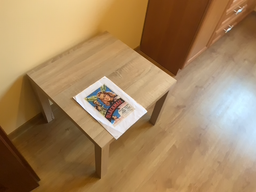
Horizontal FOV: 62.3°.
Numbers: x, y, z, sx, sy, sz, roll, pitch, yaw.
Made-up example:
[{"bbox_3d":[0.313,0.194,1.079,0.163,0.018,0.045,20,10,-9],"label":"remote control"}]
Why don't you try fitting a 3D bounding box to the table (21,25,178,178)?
[{"bbox_3d":[-0.150,0.010,1.270,0.560,0.440,0.580,38,57,19],"label":"table"}]
